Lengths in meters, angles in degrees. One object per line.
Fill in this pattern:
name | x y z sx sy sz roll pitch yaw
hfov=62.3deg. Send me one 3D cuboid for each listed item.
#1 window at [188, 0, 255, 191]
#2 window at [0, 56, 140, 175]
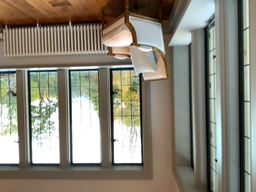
window | 0.850 0.130 1.890 0.120 1.850 2.240 -1 -179 4
window | -1.100 0.330 3.490 2.580 1.880 0.160 -1 -179 3
